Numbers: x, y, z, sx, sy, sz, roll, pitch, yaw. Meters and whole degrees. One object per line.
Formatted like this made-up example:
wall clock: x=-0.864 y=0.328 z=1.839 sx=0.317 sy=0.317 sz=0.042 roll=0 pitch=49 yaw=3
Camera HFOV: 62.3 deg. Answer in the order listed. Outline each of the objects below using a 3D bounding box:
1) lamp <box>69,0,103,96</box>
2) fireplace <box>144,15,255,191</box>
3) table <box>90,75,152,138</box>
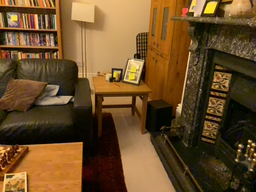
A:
lamp: x=-0.680 y=-0.750 z=3.390 sx=0.480 sy=1.450 sz=0.340 roll=-2 pitch=22 yaw=-15
fireplace: x=0.700 y=0.130 z=1.530 sx=0.650 sy=1.280 sz=1.860 roll=1 pitch=21 yaw=-9
table: x=-0.130 y=0.090 z=2.550 sx=0.620 sy=0.540 sz=0.620 roll=-1 pitch=21 yaw=-13
